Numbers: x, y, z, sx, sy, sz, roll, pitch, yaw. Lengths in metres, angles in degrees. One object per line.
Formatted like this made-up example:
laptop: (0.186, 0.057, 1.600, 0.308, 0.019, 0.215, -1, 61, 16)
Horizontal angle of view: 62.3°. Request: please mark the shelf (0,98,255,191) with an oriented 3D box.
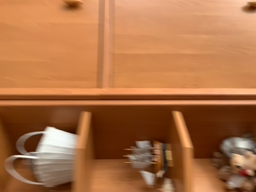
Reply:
shelf: (0.360, 0.240, 0.710, 0.320, 2.370, 0.340, -94, 5, -54)
